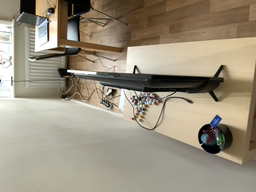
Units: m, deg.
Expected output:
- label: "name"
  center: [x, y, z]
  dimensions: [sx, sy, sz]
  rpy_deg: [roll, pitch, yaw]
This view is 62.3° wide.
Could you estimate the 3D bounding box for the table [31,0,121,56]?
- label: "table"
  center: [-0.600, -1.120, 2.400]
  dimensions: [0.760, 0.750, 1.230]
  rpy_deg: [11, 100, 51]
